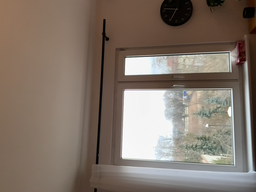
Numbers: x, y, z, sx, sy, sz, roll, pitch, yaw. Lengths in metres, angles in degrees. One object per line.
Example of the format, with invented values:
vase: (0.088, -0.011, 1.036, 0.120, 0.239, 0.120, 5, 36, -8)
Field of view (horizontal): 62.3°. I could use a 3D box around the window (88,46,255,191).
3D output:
window: (0.520, 0.340, 2.400, 0.150, 1.930, 1.750, 34, -123, -76)
